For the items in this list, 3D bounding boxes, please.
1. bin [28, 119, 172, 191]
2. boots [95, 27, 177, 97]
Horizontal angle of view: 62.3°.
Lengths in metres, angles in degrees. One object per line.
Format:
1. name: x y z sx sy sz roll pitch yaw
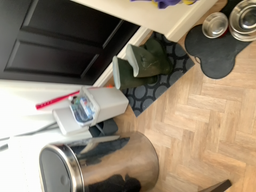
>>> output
1. bin: -0.150 0.440 1.380 0.330 0.780 0.430 -43 60 35
2. boots: 0.050 -0.200 1.390 0.280 0.350 0.300 -45 60 34
